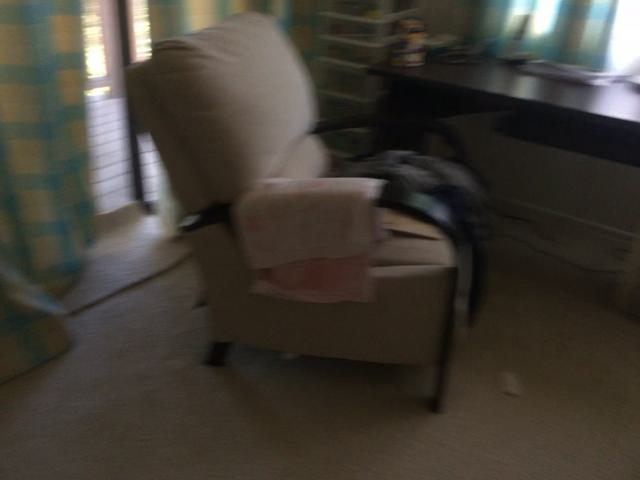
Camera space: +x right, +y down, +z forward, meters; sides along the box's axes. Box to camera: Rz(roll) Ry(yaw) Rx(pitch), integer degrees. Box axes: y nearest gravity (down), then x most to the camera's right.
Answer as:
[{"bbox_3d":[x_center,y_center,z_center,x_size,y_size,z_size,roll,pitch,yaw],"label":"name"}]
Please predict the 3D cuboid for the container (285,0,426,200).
[{"bbox_3d":[0.160,-0.850,2.740,0.450,1.160,0.450,22,35,28],"label":"container"}]

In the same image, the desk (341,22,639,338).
[{"bbox_3d":[0.990,-0.260,2.190,1.640,0.750,0.720,22,35,28],"label":"desk"}]
